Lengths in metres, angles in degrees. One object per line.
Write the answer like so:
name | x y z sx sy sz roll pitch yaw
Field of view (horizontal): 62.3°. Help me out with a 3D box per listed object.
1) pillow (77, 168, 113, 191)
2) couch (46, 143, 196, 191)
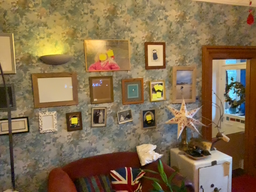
pillow | -0.370 1.030 2.400 0.360 0.370 0.070 -4 -49 -18
couch | -0.150 1.160 2.410 1.400 1.070 0.770 -4 -84 -21
